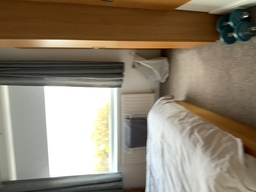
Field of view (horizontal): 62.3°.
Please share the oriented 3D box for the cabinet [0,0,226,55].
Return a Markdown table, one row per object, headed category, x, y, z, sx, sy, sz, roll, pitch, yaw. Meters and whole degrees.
| category | x | y | z | sx | sy | sz | roll | pitch | yaw |
| --- | --- | --- | --- | --- | --- | --- | --- | --- | --- |
| cabinet | -0.360 | -0.660 | 2.330 | 1.520 | 2.100 | 0.320 | -139 | 50 | -74 |
